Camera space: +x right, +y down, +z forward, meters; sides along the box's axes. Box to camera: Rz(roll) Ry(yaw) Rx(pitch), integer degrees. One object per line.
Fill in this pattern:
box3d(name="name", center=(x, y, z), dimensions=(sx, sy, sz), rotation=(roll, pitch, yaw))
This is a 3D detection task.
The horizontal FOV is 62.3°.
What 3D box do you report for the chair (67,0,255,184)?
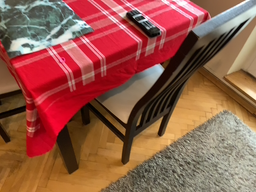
box3d(name="chair", center=(0.070, -0.080, 1.030), dimensions=(0.390, 0.980, 0.570), rotation=(-31, 60, -27))
